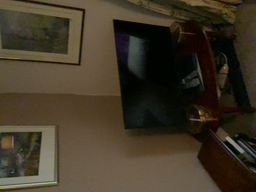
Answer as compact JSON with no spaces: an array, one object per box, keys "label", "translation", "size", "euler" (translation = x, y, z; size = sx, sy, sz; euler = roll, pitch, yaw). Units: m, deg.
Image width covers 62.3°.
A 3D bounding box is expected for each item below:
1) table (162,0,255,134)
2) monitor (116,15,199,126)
[{"label":"table","translation":[0.680,-0.210,1.900],"size":[0.560,0.420,1.020],"euler":[145,123,-65]},{"label":"monitor","translation":[0.220,-0.210,1.690],"size":[0.070,0.580,0.880],"euler":[138,130,-63]}]
